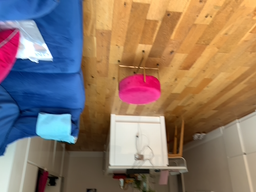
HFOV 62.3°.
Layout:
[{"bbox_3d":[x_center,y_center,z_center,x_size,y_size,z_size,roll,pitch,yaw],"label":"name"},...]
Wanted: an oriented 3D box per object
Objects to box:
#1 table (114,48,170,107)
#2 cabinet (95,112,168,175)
[{"bbox_3d":[0.110,-0.160,2.100,0.440,0.400,0.440,3,157,-9],"label":"table"},{"bbox_3d":[-0.110,1.190,4.650,1.110,0.900,2.490,3,157,-9],"label":"cabinet"}]
